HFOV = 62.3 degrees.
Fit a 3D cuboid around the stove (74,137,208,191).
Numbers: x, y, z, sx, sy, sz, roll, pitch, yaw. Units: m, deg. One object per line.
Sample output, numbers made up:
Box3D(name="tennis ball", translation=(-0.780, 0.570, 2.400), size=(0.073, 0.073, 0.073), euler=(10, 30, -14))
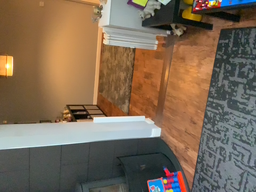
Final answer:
Box3D(name="stove", translation=(0.050, 1.020, 2.210), size=(0.870, 1.040, 0.810), euler=(-150, 64, -62))
